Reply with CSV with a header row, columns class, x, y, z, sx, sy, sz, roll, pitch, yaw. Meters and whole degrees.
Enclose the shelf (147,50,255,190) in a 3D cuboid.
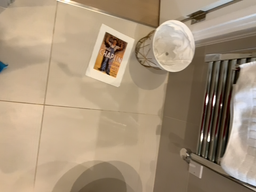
class,x,y,z,sx,sy,sz,roll,pitch,yaw
shelf,0.440,0.070,0.850,0.080,1.170,0.480,9,91,-25
